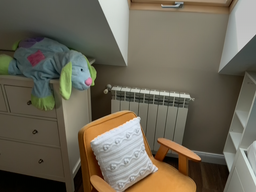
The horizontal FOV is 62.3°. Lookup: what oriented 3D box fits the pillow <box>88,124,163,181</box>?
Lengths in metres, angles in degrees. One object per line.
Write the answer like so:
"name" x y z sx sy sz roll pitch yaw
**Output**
"pillow" -0.030 0.360 1.320 0.350 0.360 0.140 -18 69 -28
